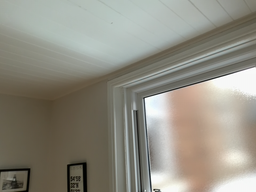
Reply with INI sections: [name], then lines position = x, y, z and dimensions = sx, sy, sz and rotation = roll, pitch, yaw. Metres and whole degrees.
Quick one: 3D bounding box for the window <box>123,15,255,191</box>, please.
[window]
position = 0.470, 0.540, 1.210
dimensions = 1.040, 1.750, 0.230
rotation = -18, -21, 40
